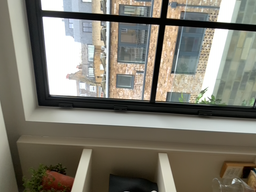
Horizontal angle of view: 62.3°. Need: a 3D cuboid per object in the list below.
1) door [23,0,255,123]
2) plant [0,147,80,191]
[{"bbox_3d":[0.610,-0.360,1.190,0.070,2.320,1.120,-90,4,-65],"label":"door"},{"bbox_3d":[-0.430,0.470,1.080,0.300,0.300,0.260,-90,4,-62],"label":"plant"}]
